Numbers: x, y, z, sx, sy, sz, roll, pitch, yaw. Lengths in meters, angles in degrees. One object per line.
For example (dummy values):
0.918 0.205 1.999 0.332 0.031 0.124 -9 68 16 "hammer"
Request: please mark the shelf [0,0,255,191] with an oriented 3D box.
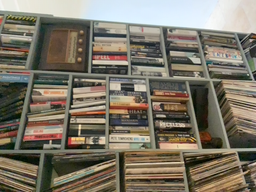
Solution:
0.170 0.350 1.280 0.410 2.490 2.090 109 160 -60 "shelf"
